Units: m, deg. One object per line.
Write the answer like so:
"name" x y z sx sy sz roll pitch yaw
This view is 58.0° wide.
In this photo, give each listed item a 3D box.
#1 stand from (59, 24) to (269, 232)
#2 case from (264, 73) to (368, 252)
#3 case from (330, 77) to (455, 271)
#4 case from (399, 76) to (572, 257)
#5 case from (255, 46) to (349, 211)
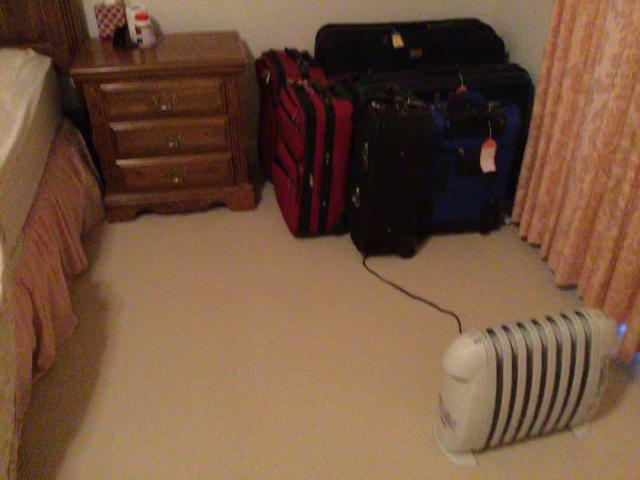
"stand" -0.620 -0.490 2.470 0.700 0.700 0.450 -8 31 -10
"case" -0.020 -0.320 2.330 0.320 0.580 0.390 -8 31 -10
"case" 0.250 -0.260 2.200 0.330 0.590 0.400 -8 31 -10
"case" 0.610 -0.290 2.250 0.500 0.570 0.310 -8 31 -10
"case" -0.080 -0.510 2.610 0.330 0.600 0.410 -8 31 -10
